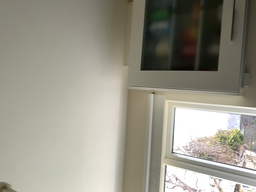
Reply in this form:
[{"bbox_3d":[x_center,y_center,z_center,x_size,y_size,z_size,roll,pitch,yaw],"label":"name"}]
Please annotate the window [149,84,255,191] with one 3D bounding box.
[{"bbox_3d":[0.700,0.870,1.760,0.370,0.990,1.880,-7,-80,-58],"label":"window"}]
